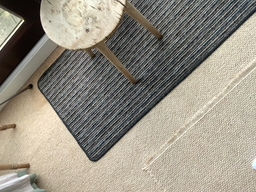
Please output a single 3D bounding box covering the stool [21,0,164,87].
[{"bbox_3d":[-0.090,-0.260,0.840,0.280,0.450,0.280,-45,73,10],"label":"stool"}]
